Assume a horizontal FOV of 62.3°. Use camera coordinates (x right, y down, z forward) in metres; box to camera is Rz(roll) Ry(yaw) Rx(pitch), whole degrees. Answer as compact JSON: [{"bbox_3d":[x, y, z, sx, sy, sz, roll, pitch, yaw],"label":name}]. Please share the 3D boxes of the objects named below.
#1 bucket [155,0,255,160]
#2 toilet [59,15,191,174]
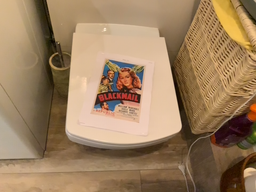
[{"bbox_3d":[0.380,-0.070,0.860,0.340,0.770,0.430,4,58,-6],"label":"bucket"},{"bbox_3d":[-0.040,0.020,0.930,0.380,0.450,0.520,2,58,-7],"label":"toilet"}]
